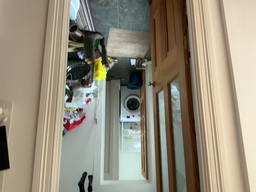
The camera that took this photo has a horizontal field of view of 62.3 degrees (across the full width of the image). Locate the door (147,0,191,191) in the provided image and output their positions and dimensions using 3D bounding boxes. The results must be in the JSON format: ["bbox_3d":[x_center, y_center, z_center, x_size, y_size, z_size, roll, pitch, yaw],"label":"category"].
[{"bbox_3d":[0.280,-0.120,1.740,0.080,1.870,0.750,1,166,-5],"label":"door"}]

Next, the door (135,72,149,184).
[{"bbox_3d":[0.260,0.610,4.240,0.140,2.050,0.690,1,166,-5],"label":"door"}]
